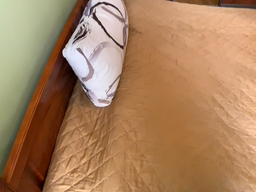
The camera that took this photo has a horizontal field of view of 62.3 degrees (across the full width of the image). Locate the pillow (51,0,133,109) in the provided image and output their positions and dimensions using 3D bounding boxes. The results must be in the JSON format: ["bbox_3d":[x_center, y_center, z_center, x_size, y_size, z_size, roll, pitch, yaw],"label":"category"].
[{"bbox_3d":[-0.120,-0.330,1.090,0.190,0.330,0.730,6,50,6],"label":"pillow"}]
